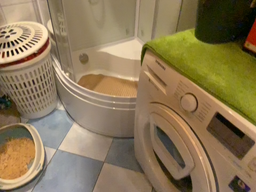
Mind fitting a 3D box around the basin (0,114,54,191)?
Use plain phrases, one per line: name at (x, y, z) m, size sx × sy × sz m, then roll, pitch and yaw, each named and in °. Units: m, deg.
basin at (-0.690, 0.350, 1.350) m, size 0.290 × 0.100 × 0.470 m, roll -19°, pitch 47°, yaw -22°
